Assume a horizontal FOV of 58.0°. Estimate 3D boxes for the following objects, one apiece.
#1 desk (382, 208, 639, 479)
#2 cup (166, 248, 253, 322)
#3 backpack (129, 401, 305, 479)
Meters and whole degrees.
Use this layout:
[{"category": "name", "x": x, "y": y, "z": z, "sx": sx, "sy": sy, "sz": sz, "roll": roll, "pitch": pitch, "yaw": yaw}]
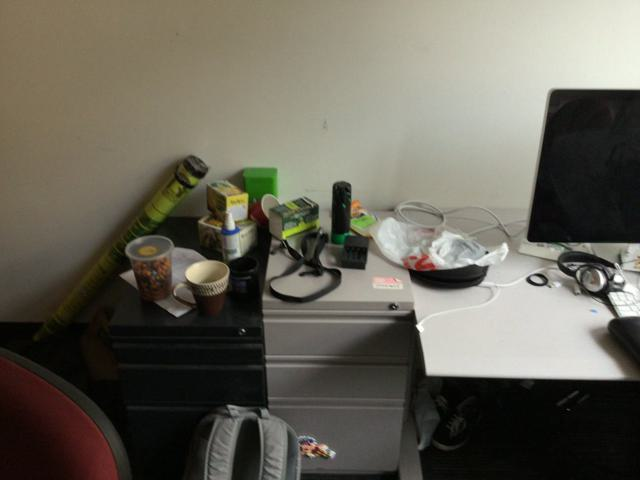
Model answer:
[{"category": "desk", "x": 1.010, "y": 0.380, "z": 1.660, "sx": 1.590, "sy": 0.670, "sz": 0.770, "roll": -3, "pitch": 30, "yaw": 3}, {"category": "cup", "x": -0.270, "y": 0.110, "z": 1.450, "sx": 0.180, "sy": 0.110, "sz": 0.160, "roll": 1, "pitch": 29, "yaw": 0}, {"category": "backpack", "x": -0.240, "y": 0.660, "z": 1.480, "sx": 0.390, "sy": 0.360, "sz": 0.300, "roll": 1, "pitch": 29, "yaw": 0}]
